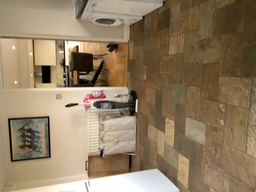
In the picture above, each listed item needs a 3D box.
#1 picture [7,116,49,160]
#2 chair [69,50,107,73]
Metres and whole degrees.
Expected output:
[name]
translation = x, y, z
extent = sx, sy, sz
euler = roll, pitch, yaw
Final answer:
[picture]
translation = -1.580, 0.660, 3.390
extent = 0.040, 0.590, 0.670
euler = -159, 69, -70
[chair]
translation = -1.050, -0.870, 5.500
extent = 0.530, 0.890, 0.480
euler = -176, 85, -72
